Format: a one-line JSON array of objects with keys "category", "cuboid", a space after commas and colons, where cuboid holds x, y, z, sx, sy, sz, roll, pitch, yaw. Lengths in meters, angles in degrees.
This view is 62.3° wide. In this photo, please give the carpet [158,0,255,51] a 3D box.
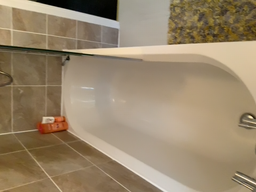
[{"category": "carpet", "cuboid": [0.530, -0.550, 1.360, 0.780, 0.050, 0.500, 15, 104, 48]}]
